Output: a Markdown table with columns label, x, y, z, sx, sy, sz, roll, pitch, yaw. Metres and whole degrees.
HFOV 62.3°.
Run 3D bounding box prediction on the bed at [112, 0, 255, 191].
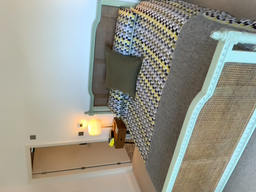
| label | x | y | z | sx | sy | sz | roll | pitch | yaw |
| --- | --- | --- | --- | --- | --- | --- | --- | --- | --- |
| bed | 0.450 | -0.030 | 2.570 | 2.160 | 0.570 | 1.950 | -121 | 35 | -55 |
